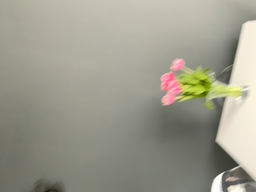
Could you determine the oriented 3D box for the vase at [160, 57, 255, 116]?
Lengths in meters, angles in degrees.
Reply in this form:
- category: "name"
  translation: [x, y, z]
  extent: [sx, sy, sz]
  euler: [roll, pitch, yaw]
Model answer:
- category: "vase"
  translation: [0.460, -0.060, 1.250]
  extent: [0.190, 0.470, 0.280]
  euler: [-119, 35, -80]
